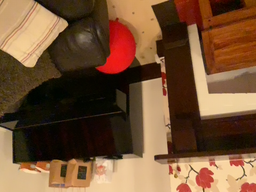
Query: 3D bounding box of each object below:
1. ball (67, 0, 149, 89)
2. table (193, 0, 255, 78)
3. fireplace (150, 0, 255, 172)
[{"bbox_3d":[-0.150,-0.410,1.880,0.460,0.430,0.540,-15,152,29],"label":"ball"},{"bbox_3d":[1.130,-0.570,1.590,1.130,0.400,0.670,-11,154,21],"label":"table"},{"bbox_3d":[1.210,-0.130,1.510,1.980,1.160,0.530,-11,154,22],"label":"fireplace"}]
